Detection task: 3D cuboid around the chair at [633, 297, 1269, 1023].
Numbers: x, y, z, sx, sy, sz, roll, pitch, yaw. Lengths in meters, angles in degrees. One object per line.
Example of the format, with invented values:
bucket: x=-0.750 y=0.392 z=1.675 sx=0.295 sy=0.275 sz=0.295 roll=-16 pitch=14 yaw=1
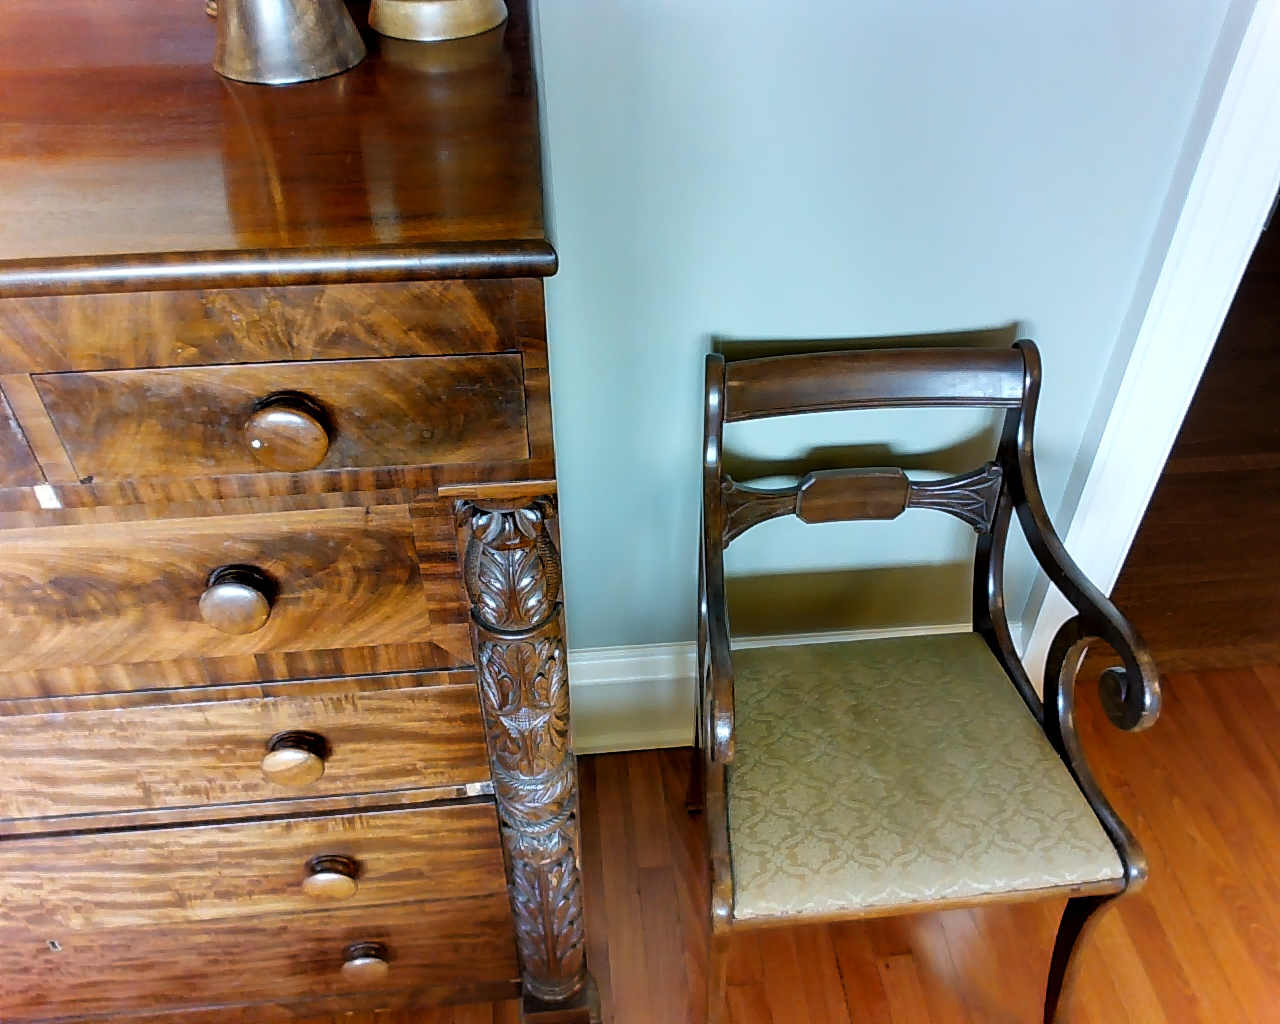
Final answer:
chair: x=0.280 y=0.240 z=1.460 sx=0.520 sy=0.820 sz=0.620 roll=-3 pitch=42 yaw=-4
